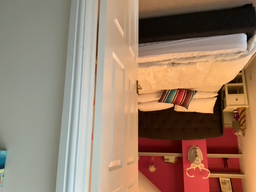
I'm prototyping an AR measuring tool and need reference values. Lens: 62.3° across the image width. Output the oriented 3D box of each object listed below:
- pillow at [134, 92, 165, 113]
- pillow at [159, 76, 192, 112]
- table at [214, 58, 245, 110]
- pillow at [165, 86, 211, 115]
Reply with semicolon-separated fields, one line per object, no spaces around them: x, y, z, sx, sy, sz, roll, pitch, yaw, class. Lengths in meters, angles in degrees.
0.410;0.130;3.970;0.520;0.400;0.210;-3;-123;15;pillow
0.810;-0.030;3.600;0.460;0.420;0.230;-24;-140;-9;pillow
1.780;-0.190;3.780;0.340;0.530;0.790;-3;-103;15;table
1.070;0.090;3.800;0.760;0.480;0.190;0;-144;18;pillow
